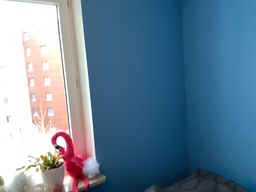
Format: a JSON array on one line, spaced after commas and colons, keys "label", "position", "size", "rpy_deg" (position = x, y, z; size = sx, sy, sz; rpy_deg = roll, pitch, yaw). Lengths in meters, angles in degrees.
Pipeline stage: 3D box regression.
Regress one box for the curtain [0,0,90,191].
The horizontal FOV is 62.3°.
[{"label": "curtain", "position": [-1.040, -0.050, 1.450], "size": [1.390, 1.420, 0.320], "rpy_deg": [-8, 7, -32]}]
